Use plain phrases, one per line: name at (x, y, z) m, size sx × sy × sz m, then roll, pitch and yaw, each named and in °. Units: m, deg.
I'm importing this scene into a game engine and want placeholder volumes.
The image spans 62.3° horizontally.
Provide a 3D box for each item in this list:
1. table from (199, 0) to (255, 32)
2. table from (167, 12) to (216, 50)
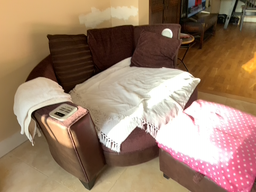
table at (3.130, -2.060, 5.140) m, size 2.400 × 0.750 × 1.070 m, roll 15°, pitch 34°, yaw 29°
table at (1.320, -1.380, 4.350) m, size 0.610 × 0.490 × 1.100 m, roll 15°, pitch 34°, yaw 28°
